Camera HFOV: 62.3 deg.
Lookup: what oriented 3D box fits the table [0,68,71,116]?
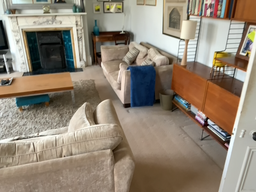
[{"bbox_3d":[-1.610,-0.100,3.500,1.190,0.420,0.770,-7,26,-17],"label":"table"}]

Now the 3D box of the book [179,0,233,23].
[{"bbox_3d":[0.860,-1.050,2.410,0.200,0.340,0.700,-6,26,-14],"label":"book"}]
